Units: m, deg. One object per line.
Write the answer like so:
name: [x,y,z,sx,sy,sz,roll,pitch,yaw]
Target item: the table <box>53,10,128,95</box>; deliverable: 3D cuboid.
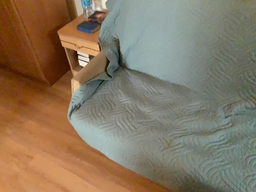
table: [-0.300,-0.400,1.940,0.420,0.530,0.440,20,51,21]
